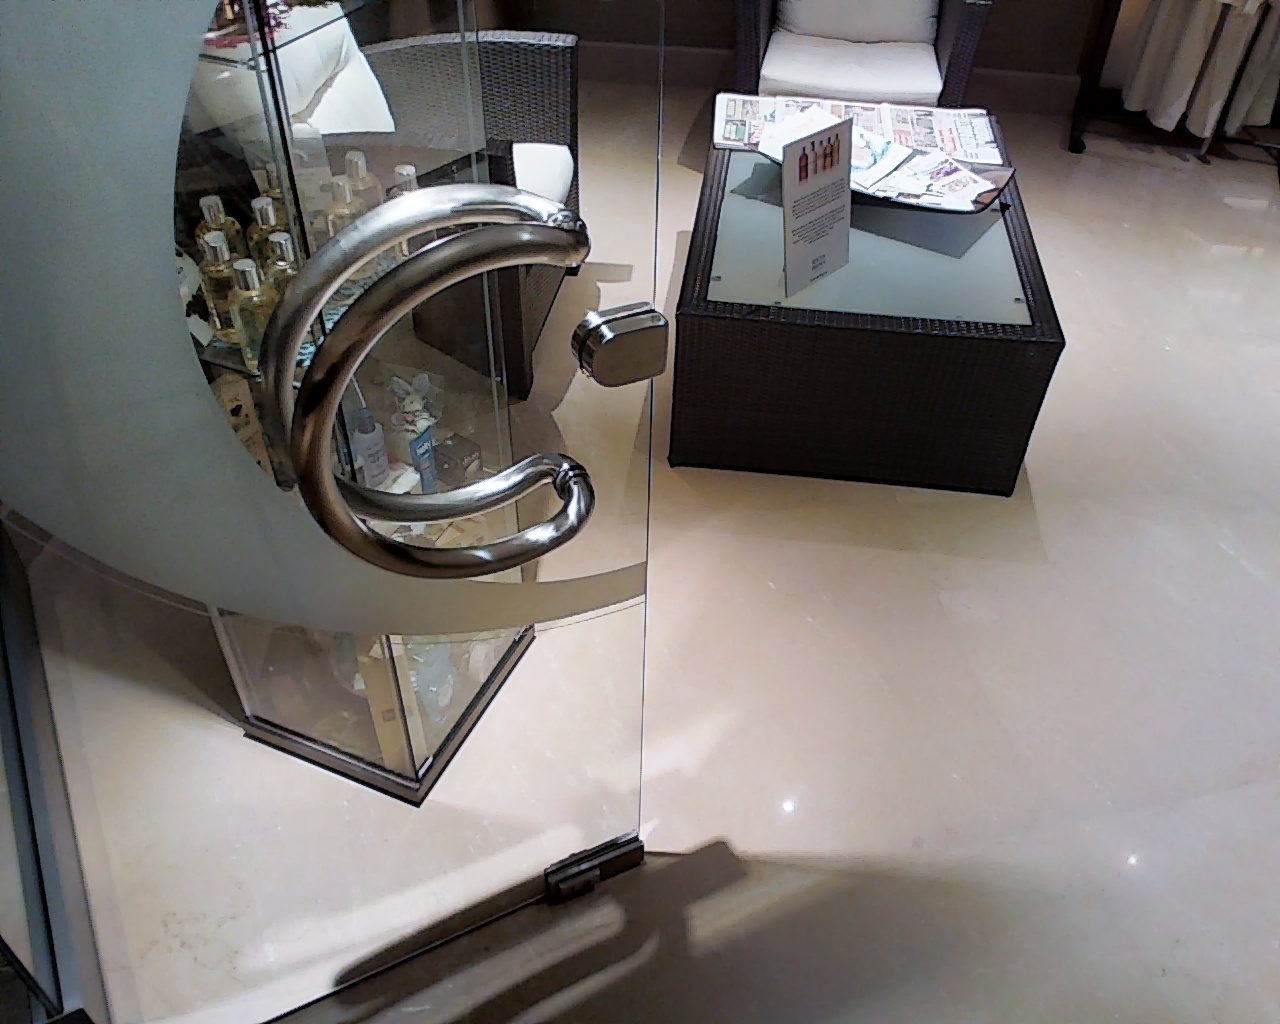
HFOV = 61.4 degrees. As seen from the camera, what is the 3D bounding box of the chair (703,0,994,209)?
[{"bbox_3d":[0.680,-1.670,3.670,0.820,0.880,0.890,5,42,4],"label":"chair"}]
